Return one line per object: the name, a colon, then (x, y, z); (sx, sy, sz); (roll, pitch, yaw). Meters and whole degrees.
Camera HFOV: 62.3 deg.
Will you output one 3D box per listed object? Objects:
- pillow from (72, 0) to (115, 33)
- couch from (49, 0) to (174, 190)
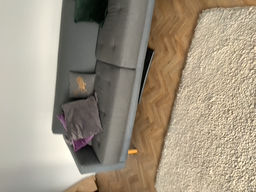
pillow: (-0.300, -0.970, 1.990); (0.300, 0.280, 0.630); (54, 134, 48)
couch: (-0.270, -0.390, 2.200); (1.010, 0.750, 2.250); (32, 116, 57)
